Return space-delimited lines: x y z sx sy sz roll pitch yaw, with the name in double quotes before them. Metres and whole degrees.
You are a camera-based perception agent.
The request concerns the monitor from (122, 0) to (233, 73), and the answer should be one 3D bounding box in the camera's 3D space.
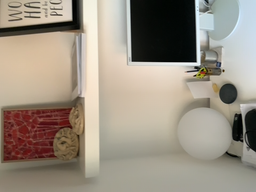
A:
"monitor" 0.240 -0.380 0.950 0.030 0.520 0.510 177 95 -75
